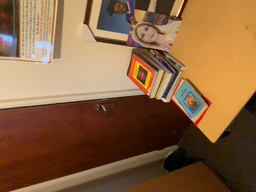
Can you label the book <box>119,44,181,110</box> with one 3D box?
[{"bbox_3d":[0.090,-0.090,0.980,0.190,0.140,0.220,56,138,36],"label":"book"}]
